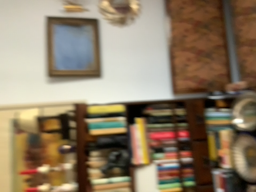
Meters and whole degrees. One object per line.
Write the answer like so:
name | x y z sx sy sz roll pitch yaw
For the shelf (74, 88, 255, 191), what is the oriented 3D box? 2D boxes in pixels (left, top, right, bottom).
shelf | 0.220 0.410 1.380 0.370 1.050 0.830 138 128 -77

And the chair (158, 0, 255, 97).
chair | 0.840 -0.770 1.770 0.590 1.000 1.420 131 135 -75
